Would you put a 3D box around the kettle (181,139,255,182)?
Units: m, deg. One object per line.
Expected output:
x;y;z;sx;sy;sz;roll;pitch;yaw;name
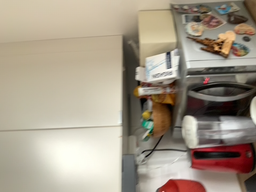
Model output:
0.360;0.260;0.850;0.120;0.260;0.130;82;-174;-57;kettle
